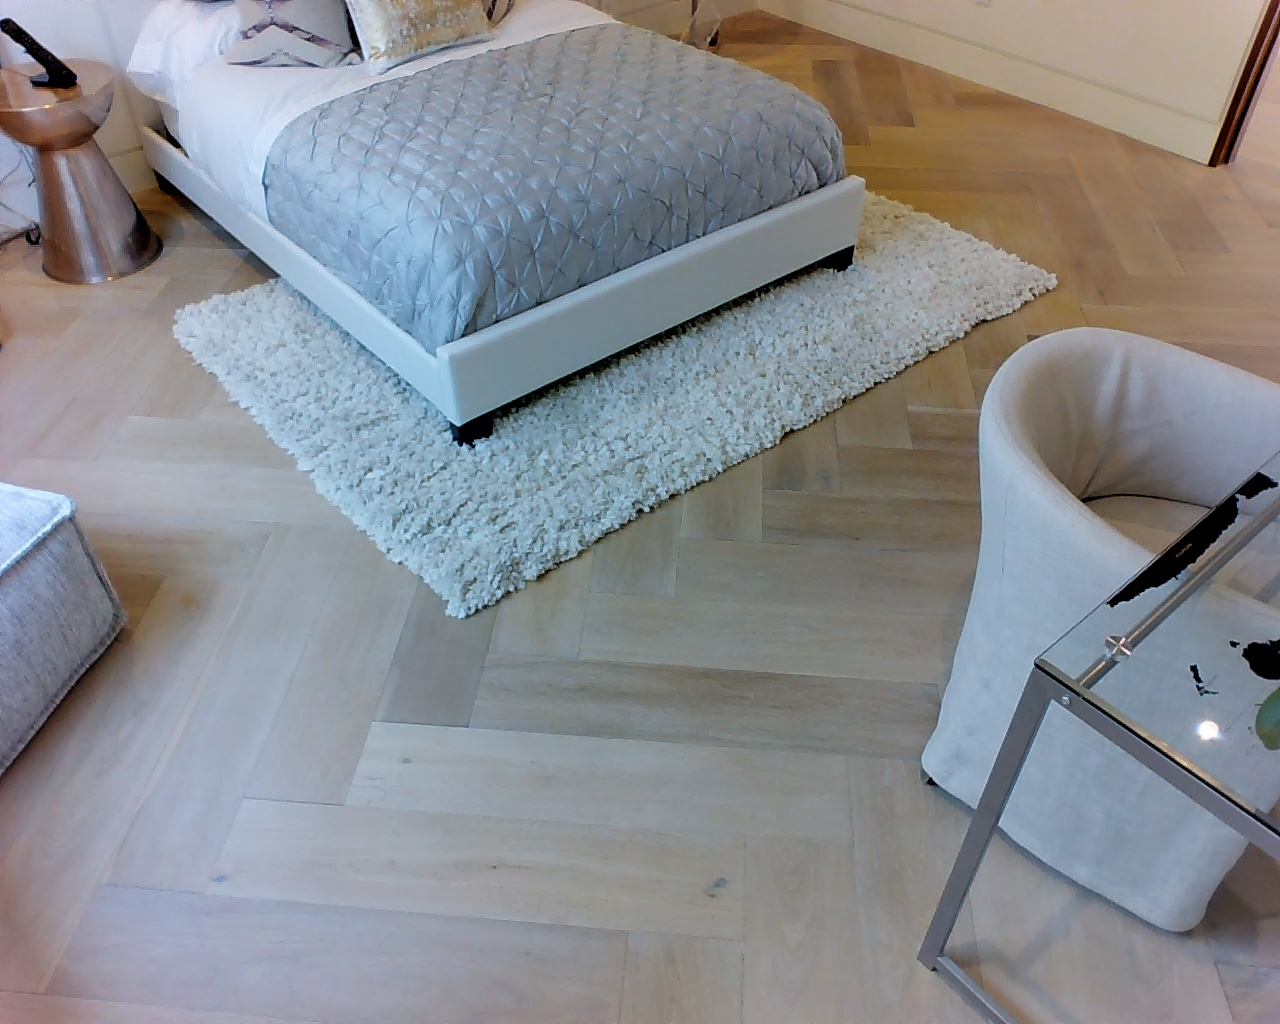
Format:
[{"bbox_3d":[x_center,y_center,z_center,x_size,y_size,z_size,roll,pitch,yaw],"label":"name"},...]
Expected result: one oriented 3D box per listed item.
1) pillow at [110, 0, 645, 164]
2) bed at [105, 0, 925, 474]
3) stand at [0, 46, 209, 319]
[{"bbox_3d":[-0.820,-1.710,3.430,1.450,0.520,0.880,-30,50,-29],"label":"pillow"},{"bbox_3d":[-0.480,-1.270,3.330,1.450,0.880,2.100,-30,50,-29],"label":"bed"},{"bbox_3d":[-1.720,-1.020,3.290,0.440,0.580,0.490,-31,50,-29],"label":"stand"}]
